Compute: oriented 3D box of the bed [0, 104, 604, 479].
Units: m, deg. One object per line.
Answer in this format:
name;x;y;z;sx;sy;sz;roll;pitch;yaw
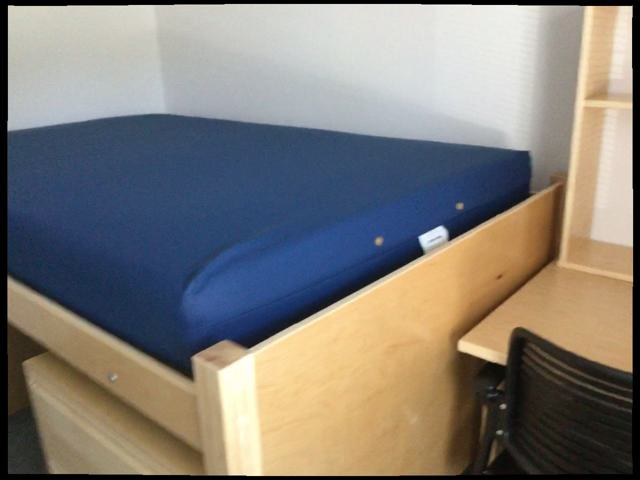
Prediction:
bed;-0.469;0.190;2.130;2.288;1.082;1.549;15;25;37
